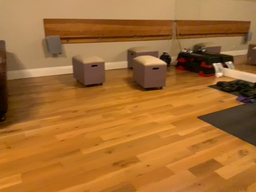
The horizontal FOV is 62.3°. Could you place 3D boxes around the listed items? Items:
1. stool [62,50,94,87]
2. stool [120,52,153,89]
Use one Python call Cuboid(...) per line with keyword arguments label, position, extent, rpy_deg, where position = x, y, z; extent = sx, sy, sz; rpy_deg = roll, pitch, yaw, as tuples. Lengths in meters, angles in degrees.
Cuboid(label="stool", position=(-0.970, -0.550, 4.060), extent=(0.350, 0.540, 0.700), rpy_deg=(-12, 24, -31))
Cuboid(label="stool", position=(0.140, -0.500, 3.990), extent=(0.410, 0.530, 0.650), rpy_deg=(-6, 21, -17))
